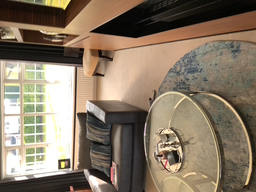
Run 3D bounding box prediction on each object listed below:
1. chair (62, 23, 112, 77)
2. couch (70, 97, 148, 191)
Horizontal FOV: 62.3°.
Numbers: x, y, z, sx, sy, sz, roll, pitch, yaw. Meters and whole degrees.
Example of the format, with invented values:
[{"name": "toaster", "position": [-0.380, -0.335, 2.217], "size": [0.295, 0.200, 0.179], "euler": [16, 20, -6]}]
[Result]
[{"name": "chair", "position": [-0.890, -0.920, 4.440], "size": [0.750, 0.800, 0.750], "euler": [132, 132, -55]}, {"name": "couch", "position": [-0.370, 0.740, 3.290], "size": [1.130, 0.800, 1.300], "euler": [-161, 73, -64]}]
